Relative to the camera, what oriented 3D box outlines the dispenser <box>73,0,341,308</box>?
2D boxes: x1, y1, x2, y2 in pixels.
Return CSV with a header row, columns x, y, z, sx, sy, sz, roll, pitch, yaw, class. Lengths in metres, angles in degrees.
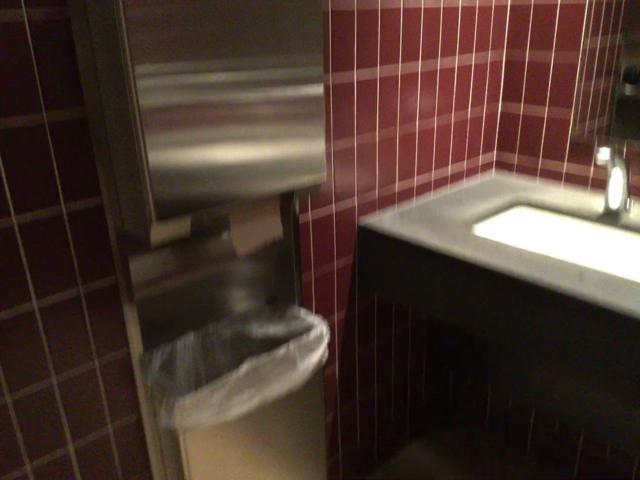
x,y,z,sx,sy,sz,roll,pitch,yaw,class
-0.170,-0.220,1.050,0.420,0.550,0.160,-21,29,-39,dispenser
